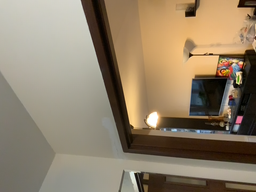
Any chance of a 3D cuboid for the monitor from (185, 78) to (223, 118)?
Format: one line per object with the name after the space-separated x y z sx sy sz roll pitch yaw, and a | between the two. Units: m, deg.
1.530 0.080 4.380 1.090 0.640 0.050 77 -163 -44 | monitor
